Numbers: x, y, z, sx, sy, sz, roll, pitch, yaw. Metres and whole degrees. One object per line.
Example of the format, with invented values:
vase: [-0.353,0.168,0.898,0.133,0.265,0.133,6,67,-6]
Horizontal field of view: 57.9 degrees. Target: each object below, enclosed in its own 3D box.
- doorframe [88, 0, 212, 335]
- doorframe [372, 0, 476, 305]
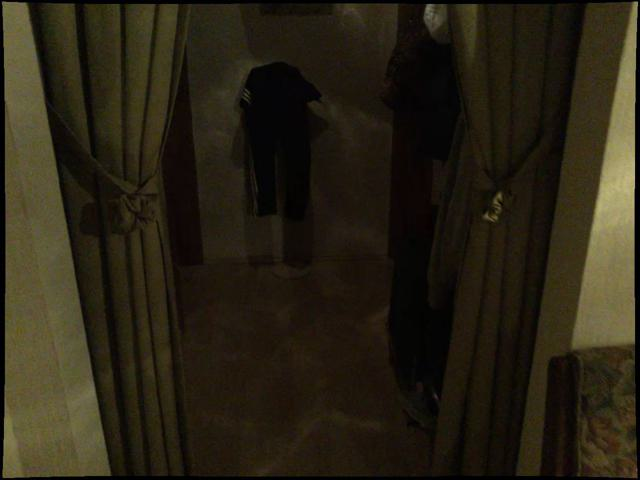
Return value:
doorframe: [-0.789,-0.681,2.860,0.270,2.022,1.030,-1,22,-4]
doorframe: [0.499,-0.731,2.980,0.250,1.952,0.830,-1,22,-4]
